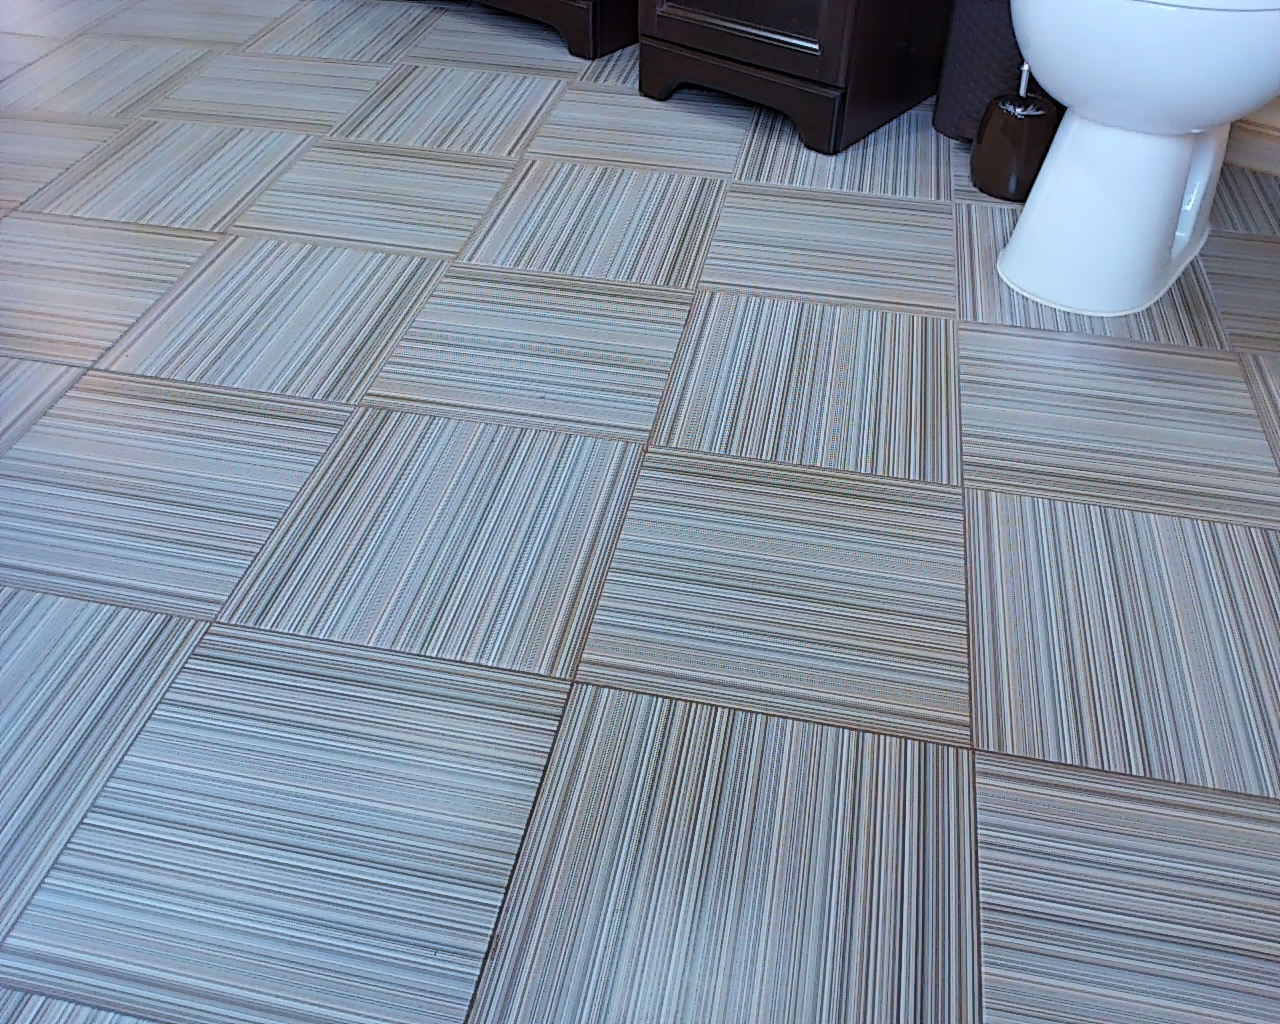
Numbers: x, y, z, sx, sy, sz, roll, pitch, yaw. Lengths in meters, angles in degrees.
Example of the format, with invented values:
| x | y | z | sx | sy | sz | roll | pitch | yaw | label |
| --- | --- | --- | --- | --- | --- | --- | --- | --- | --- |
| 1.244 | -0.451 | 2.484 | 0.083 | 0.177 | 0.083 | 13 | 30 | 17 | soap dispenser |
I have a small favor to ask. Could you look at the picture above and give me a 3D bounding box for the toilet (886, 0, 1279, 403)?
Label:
| x | y | z | sx | sy | sz | roll | pitch | yaw | label |
| --- | --- | --- | --- | --- | --- | --- | --- | --- | --- |
| 0.700 | -0.690 | 1.290 | 0.370 | 0.800 | 0.720 | 28 | 48 | 27 | toilet |
